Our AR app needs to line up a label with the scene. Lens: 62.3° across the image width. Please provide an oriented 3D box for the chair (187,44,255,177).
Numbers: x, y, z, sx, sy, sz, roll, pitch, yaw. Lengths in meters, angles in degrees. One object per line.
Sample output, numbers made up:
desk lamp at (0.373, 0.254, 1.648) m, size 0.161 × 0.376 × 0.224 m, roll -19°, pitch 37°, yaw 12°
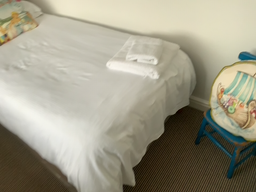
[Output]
chair at (0.680, 0.100, 1.300) m, size 0.430 × 0.630 × 0.350 m, roll -22°, pitch 45°, yaw -17°
